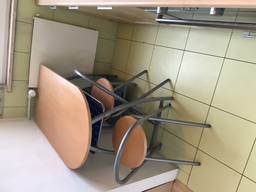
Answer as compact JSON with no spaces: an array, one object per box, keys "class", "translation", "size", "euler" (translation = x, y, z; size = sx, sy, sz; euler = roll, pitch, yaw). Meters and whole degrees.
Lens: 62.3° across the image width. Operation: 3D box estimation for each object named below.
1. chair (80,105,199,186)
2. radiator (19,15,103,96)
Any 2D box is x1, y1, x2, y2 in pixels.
[{"class":"chair","translation":[0.100,0.290,1.470],"size":[0.310,0.730,0.330],"euler":[36,117,45]},{"class":"radiator","translation":[-0.630,-0.340,2.040],"size":[0.130,0.680,0.670],"euler":[32,114,46]}]
